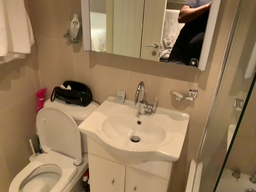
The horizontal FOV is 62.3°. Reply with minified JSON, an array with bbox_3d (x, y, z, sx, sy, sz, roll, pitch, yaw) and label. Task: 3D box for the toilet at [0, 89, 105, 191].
[{"bbox_3d":[-0.520,0.490,1.540,0.410,0.810,0.670,14,32,19],"label":"toilet"}]
